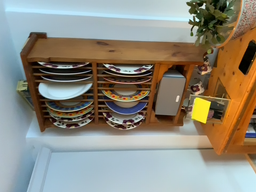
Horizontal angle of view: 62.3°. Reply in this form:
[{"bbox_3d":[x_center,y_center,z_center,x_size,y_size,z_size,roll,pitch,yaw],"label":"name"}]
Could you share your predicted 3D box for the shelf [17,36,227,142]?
[{"bbox_3d":[-0.030,-0.010,1.270,0.210,1.000,0.600,-98,10,-52],"label":"shelf"}]
